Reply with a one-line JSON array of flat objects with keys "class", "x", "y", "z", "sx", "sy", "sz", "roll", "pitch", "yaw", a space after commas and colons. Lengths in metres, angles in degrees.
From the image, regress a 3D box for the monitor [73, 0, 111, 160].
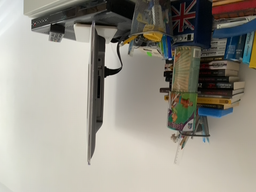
[{"class": "monitor", "x": -0.150, "y": -0.070, "z": 0.820, "sx": 0.080, "sy": 0.440, "sz": 0.560, "roll": 2, "pitch": -176, "yaw": -12}]
